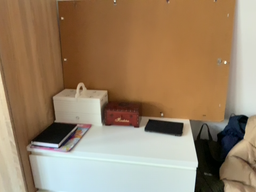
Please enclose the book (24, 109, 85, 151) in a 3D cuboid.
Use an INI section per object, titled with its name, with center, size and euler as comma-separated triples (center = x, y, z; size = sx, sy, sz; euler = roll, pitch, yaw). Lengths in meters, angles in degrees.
[book]
center = -0.370, 0.170, 1.110
size = 0.200, 0.230, 0.120
euler = -73, -17, -67
